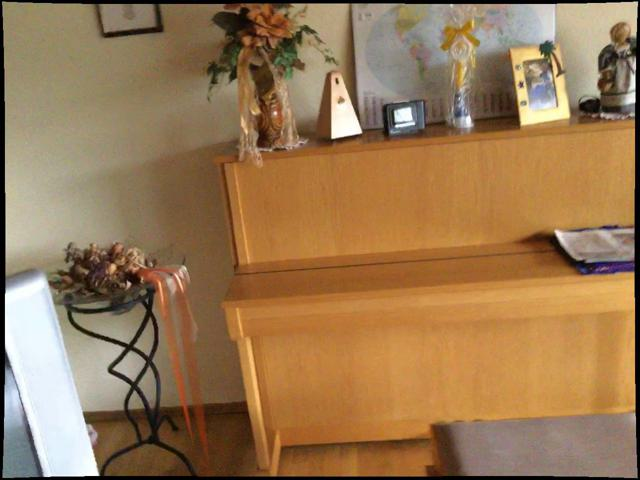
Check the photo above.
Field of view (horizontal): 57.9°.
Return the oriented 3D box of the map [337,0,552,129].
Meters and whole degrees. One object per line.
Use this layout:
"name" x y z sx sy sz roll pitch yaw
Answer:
"map" 0.420 -0.631 1.980 0.699 0.440 0.060 -4 21 2
